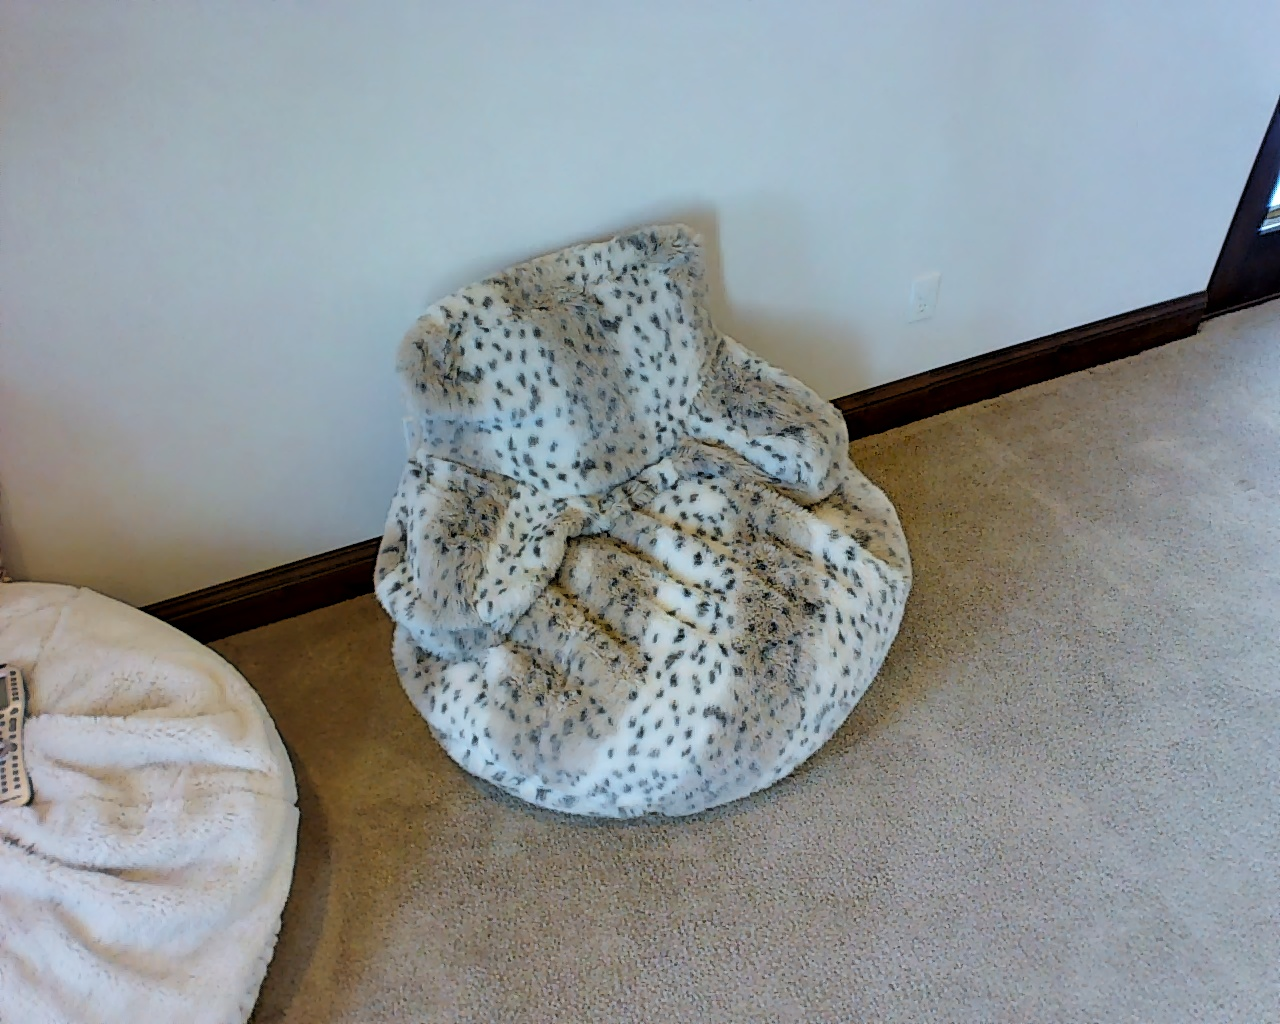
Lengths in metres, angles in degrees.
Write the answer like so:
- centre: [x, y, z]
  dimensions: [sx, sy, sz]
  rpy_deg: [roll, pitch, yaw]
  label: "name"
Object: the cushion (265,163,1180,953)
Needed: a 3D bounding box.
- centre: [0.080, 0.010, 1.790]
  dimensions: [1.090, 0.700, 0.780]
  rpy_deg: [-17, 45, -16]
  label: "cushion"
